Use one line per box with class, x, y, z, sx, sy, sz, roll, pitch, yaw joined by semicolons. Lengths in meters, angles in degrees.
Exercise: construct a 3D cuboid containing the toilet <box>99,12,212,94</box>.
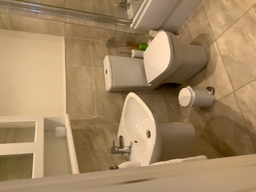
toilet;0.220;-0.350;2.050;0.630;0.830;0.400;132;135;-57
